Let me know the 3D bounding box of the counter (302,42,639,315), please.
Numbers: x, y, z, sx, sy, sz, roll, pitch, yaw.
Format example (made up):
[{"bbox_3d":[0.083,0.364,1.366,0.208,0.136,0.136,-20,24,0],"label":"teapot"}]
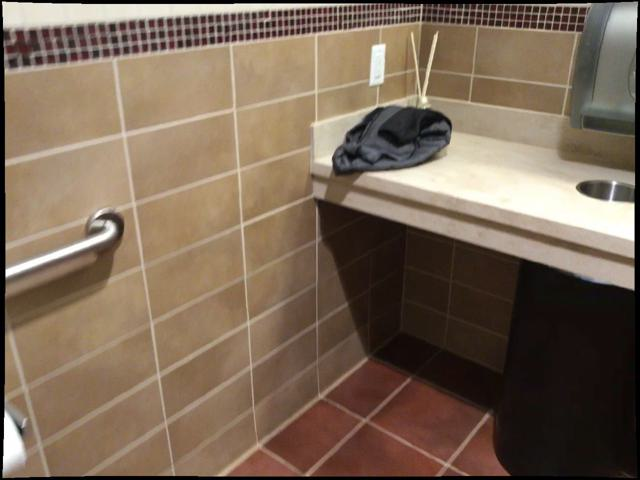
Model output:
[{"bbox_3d":[0.869,-0.120,1.250,1.899,0.400,0.590,20,34,37],"label":"counter"}]

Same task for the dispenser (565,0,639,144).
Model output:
[{"bbox_3d":[0.789,-0.410,1.350,0.320,0.340,0.160,20,34,37],"label":"dispenser"}]
